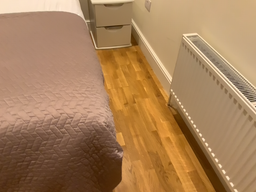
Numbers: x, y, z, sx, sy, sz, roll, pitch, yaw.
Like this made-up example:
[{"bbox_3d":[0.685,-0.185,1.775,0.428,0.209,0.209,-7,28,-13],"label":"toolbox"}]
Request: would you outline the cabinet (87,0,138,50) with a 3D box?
[{"bbox_3d":[-0.190,-0.860,2.320,0.440,0.510,0.450,-9,44,-14],"label":"cabinet"}]
